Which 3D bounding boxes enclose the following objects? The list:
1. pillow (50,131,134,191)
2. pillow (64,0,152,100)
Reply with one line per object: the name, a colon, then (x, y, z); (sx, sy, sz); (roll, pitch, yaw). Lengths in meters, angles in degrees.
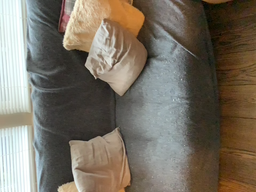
pillow: (-0.200, 0.580, 1.350); (0.280, 0.440, 0.650); (-7, 86, 33)
pillow: (-0.130, -0.370, 1.290); (0.390, 0.330, 0.770); (-1, 93, 47)
